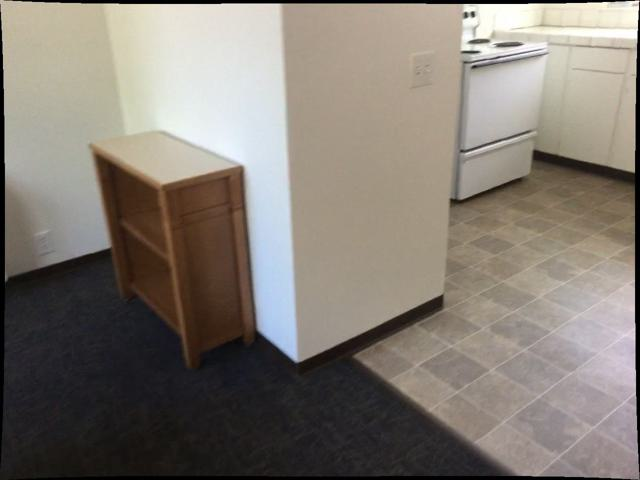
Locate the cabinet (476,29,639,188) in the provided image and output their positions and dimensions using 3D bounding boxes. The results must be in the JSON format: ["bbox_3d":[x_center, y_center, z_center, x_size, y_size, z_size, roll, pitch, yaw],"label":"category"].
[{"bbox_3d":[1.957,-0.861,3.830,0.130,0.921,2.089,-21,31,-33],"label":"cabinet"}]

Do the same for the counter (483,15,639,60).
[{"bbox_3d":[2.156,-1.332,3.810,0.639,0.170,2.119,-21,31,-33],"label":"counter"}]
